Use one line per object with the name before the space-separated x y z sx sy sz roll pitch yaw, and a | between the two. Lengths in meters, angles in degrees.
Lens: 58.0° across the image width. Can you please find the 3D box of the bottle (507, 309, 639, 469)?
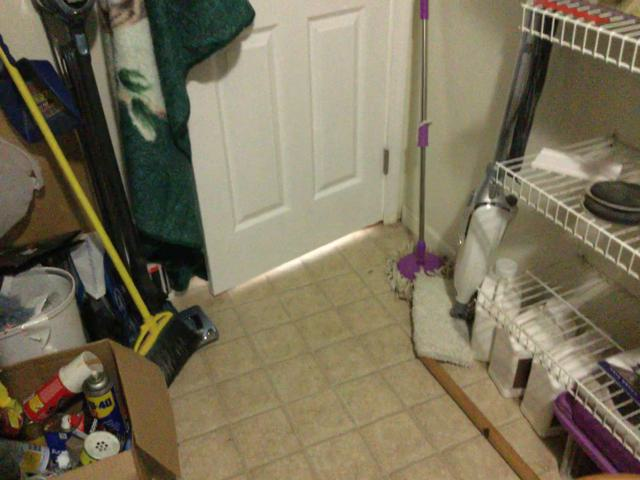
bottle | 0.640 0.370 1.450 0.210 0.290 0.190 -15 36 -19

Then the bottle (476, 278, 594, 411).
bottle | 0.570 0.280 1.560 0.200 0.270 0.160 -15 36 -19

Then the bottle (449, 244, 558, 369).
bottle | 0.520 0.190 1.670 0.200 0.270 0.170 -15 36 -19
